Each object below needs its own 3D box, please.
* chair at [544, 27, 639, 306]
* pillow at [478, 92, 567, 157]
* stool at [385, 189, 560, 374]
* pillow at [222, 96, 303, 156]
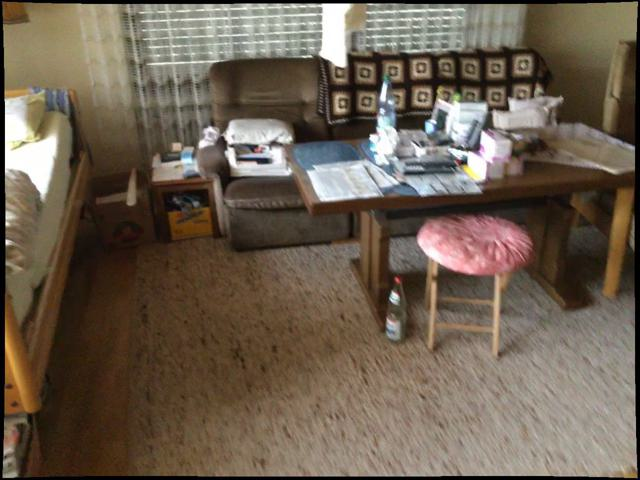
[{"bbox_3d":[1.658,-0.380,2.710,0.799,1.021,0.980,3,28,7],"label":"chair"},{"bbox_3d":[1.189,-0.691,3.410,0.440,0.230,0.410,9,29,16],"label":"pillow"},{"bbox_3d":[0.559,0.140,2.300,0.440,0.480,0.530,-6,29,-10],"label":"stool"},{"bbox_3d":[-0.320,-0.631,3.150,0.380,0.180,0.430,-6,29,-10],"label":"pillow"}]
